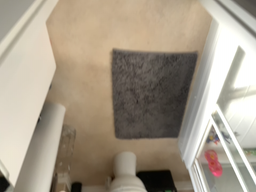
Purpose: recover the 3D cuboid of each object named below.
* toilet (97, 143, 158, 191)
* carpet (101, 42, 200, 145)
[{"bbox_3d":[-0.010,0.920,1.750,0.440,0.790,0.660,-2,131,-4],"label":"toilet"},{"bbox_3d":[0.140,0.050,1.530,0.570,0.030,0.910,-3,131,-2],"label":"carpet"}]
